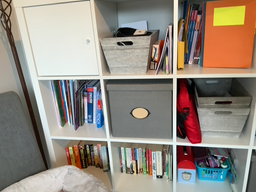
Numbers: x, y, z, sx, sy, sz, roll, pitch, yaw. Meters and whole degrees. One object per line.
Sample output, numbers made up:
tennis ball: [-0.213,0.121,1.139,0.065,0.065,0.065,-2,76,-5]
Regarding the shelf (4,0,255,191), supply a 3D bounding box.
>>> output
shelf: [0.260,0.160,1.260,1.520,1.470,0.430,1,21,12]
